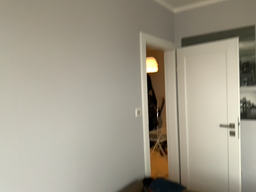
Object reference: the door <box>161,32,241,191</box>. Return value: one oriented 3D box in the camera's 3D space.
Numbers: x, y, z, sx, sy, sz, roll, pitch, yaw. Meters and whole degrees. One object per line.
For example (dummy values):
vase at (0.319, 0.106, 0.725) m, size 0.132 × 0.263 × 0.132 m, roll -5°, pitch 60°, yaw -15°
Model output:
door at (0.840, 0.420, 2.600) m, size 0.070 × 2.170 × 0.970 m, roll -5°, pitch 4°, yaw -43°
